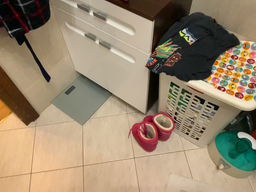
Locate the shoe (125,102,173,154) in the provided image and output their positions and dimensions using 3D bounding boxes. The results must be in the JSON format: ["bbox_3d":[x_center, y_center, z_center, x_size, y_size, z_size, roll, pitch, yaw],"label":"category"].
[{"bbox_3d":[0.120,0.190,1.270,0.200,0.150,0.190,34,64,21],"label":"shoe"}]
